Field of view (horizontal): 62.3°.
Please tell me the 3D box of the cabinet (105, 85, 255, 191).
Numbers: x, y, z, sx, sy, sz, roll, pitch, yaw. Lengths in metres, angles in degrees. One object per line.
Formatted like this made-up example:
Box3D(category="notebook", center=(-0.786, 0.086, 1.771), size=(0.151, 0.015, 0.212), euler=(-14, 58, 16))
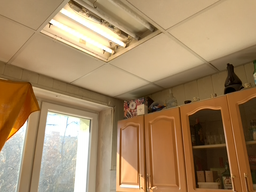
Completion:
Box3D(category="cabinet", center=(0.770, 0.370, 1.580), size=(0.320, 0.720, 2.540), euler=(19, -27, -41))
